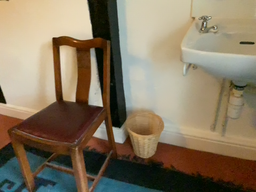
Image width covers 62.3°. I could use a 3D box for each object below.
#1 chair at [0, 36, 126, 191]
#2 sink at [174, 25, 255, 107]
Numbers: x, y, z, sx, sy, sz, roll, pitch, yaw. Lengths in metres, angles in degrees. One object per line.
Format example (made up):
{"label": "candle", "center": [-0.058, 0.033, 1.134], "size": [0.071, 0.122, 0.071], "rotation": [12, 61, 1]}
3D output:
{"label": "chair", "center": [-0.360, 0.120, 1.250], "size": [0.490, 0.790, 0.560], "rotation": [7, 30, 19]}
{"label": "sink", "center": [0.550, -0.160, 0.980], "size": [0.570, 0.240, 0.400], "rotation": [9, 31, 22]}
